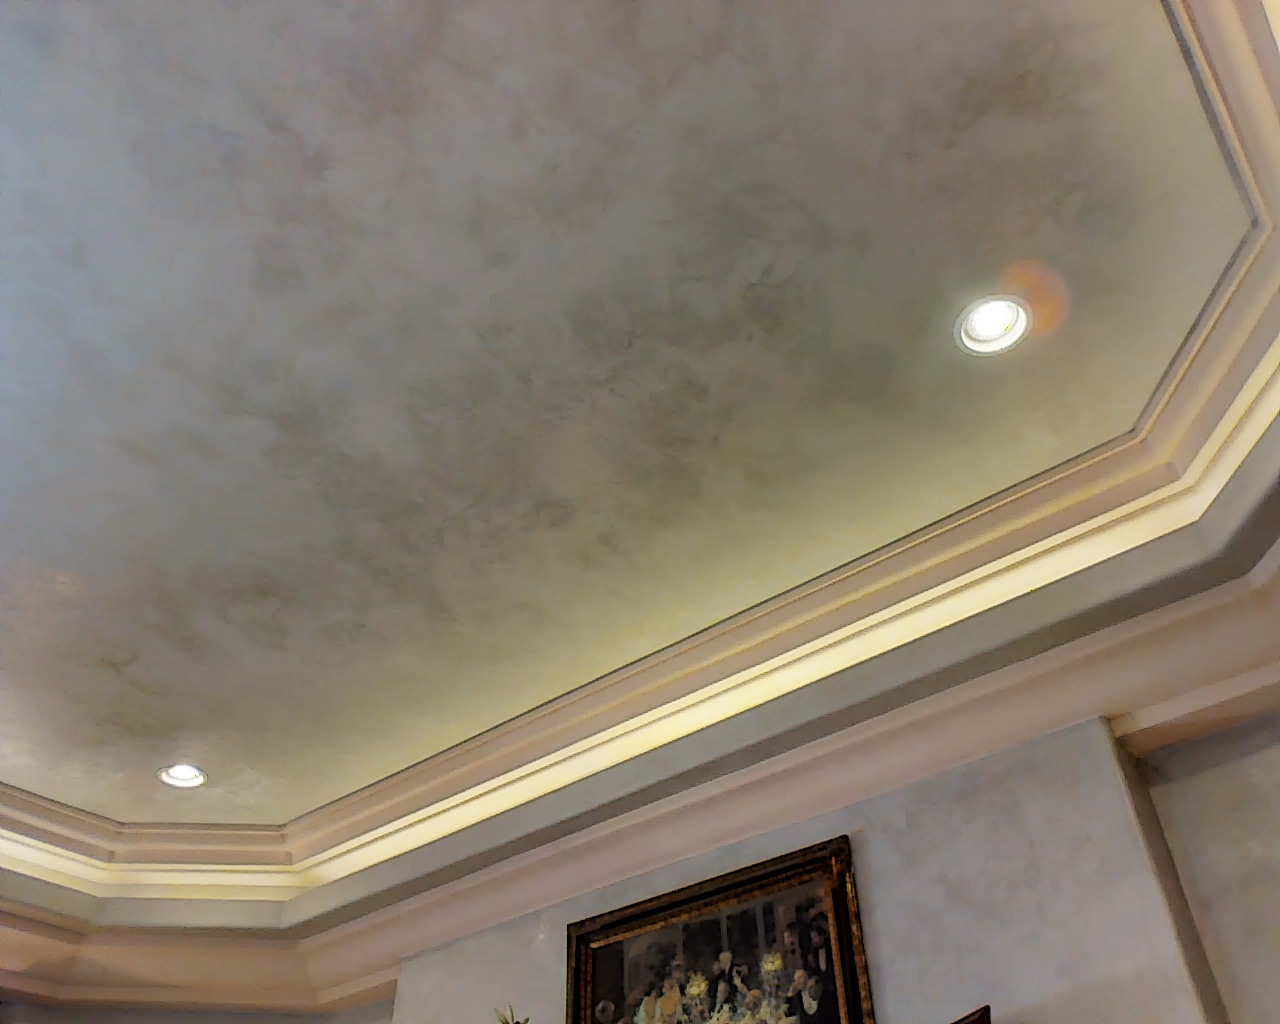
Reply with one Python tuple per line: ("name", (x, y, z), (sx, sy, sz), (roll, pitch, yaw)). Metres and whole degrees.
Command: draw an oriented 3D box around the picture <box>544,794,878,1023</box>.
("picture", (0.160, 1.430, 3.230), (1.150, 0.860, 0.070), (-28, -48, 28))
